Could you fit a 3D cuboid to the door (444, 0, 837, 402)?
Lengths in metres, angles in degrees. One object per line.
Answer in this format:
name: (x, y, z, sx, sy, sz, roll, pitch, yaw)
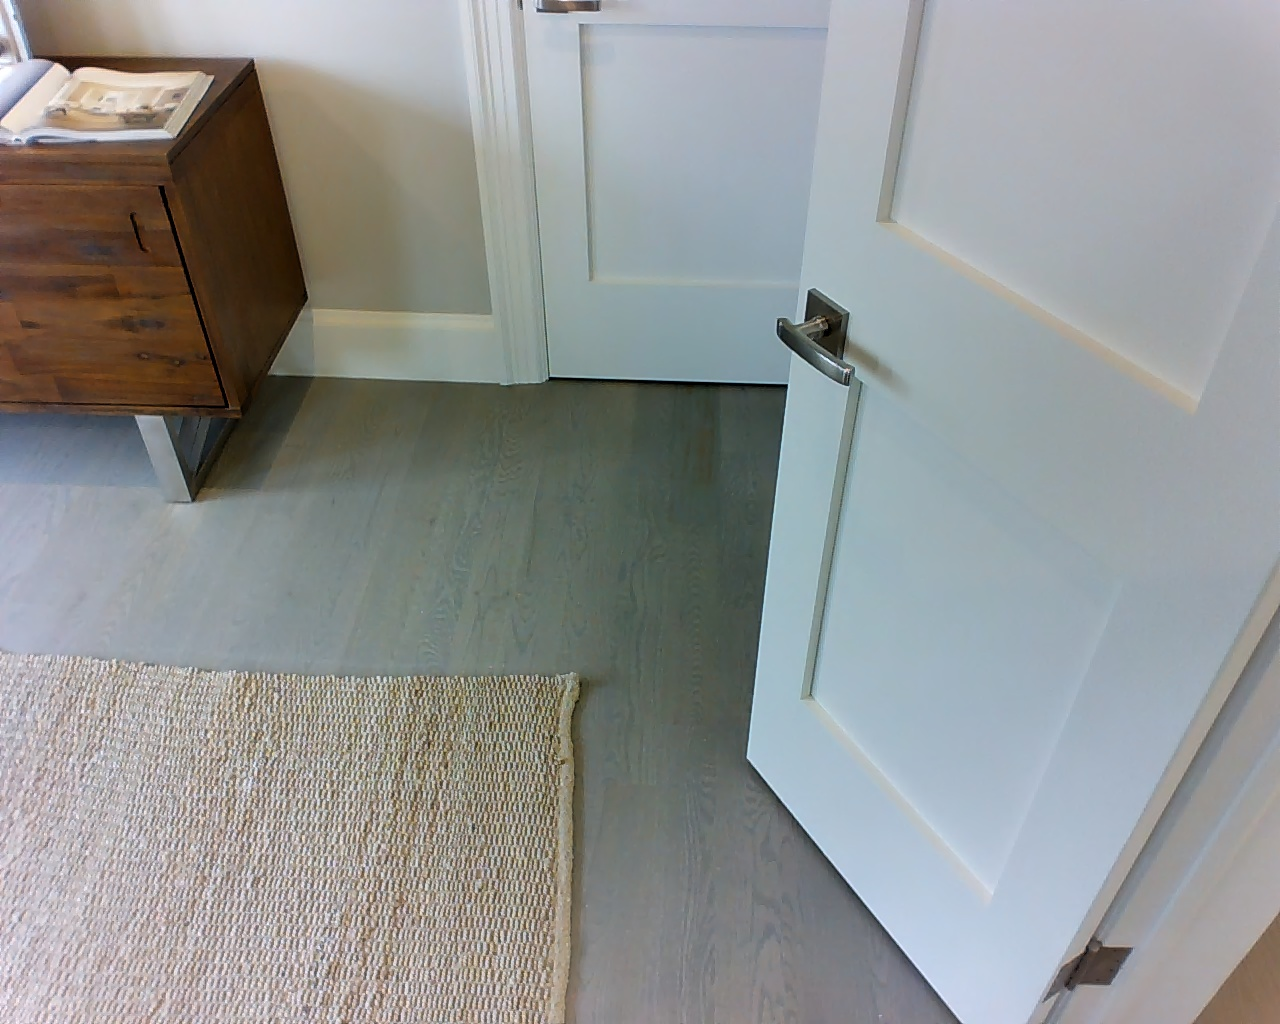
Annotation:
door: (0.000, -1.180, 1.960, 0.760, 2.310, 0.070, 2, 41, 3)
